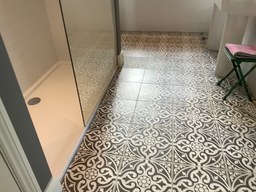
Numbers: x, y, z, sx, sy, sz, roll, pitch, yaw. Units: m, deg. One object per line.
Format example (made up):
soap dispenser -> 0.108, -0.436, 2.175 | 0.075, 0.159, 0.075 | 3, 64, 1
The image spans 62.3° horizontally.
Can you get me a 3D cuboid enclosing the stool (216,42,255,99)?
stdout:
stool -> 1.020, -0.240, 1.970 | 0.270, 0.410, 0.310 | 6, 35, 11
